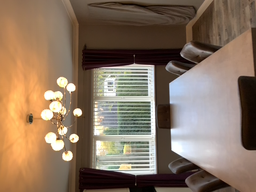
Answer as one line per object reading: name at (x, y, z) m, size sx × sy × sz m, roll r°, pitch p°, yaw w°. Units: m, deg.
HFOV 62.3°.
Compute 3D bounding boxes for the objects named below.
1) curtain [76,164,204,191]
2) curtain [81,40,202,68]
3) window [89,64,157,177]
curtain at (0.230, 1.500, 3.940) m, size 0.230 × 2.310 × 0.380 m, roll 113°, pitch 157°, yaw -81°
curtain at (0.260, -0.820, 4.180) m, size 0.260 × 2.300 × 0.440 m, roll 109°, pitch 161°, yaw -80°
window at (-0.100, 0.430, 4.180) m, size 0.100 × 1.280 × 2.180 m, roll 110°, pitch 160°, yaw -80°
